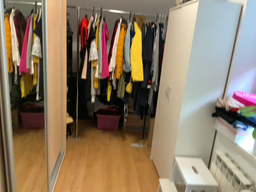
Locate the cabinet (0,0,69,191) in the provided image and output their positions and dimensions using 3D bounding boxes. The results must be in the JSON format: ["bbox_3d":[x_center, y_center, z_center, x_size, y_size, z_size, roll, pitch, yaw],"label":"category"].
[{"bbox_3d":[-0.770,-0.140,1.320,0.460,2.420,2.230,3,17,-8],"label":"cabinet"}]
